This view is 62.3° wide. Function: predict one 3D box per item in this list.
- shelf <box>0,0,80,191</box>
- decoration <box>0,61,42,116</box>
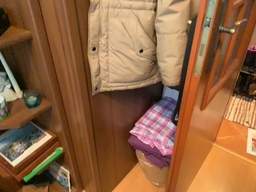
[{"bbox_3d":[-0.540,-0.310,0.650,0.360,2.360,0.320,24,42,28],"label":"shelf"},{"bbox_3d":[-0.540,-0.030,0.910,0.280,0.110,0.220,-15,39,-20],"label":"decoration"}]
